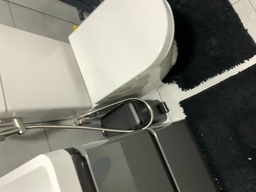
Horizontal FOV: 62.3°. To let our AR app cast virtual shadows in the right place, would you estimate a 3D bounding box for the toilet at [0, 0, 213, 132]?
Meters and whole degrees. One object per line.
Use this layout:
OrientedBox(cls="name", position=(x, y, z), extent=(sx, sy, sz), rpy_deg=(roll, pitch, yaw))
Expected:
OrientedBox(cls="toilet", position=(-0.120, -0.190, 0.940), extent=(0.660, 0.830, 0.390), rpy_deg=(-31, 74, 31))
